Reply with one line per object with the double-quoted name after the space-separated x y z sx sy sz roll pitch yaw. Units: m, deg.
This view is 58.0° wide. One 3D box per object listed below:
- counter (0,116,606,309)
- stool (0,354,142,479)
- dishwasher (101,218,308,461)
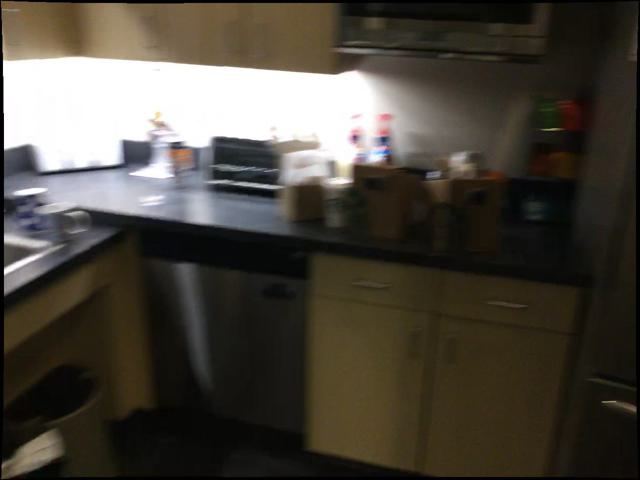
-0.209 -0.180 1.990 2.056 0.220 0.700 7 24 14 "counter"
-0.848 0.662 1.910 0.289 0.351 0.410 7 24 14 "stool"
-0.379 0.351 1.980 0.679 0.812 0.070 7 24 14 "dishwasher"
